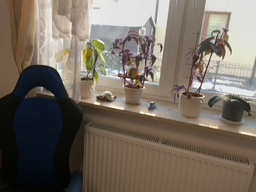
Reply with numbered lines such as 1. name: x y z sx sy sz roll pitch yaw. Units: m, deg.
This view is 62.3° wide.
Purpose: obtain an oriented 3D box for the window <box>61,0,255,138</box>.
1. window: 0.420 -0.590 1.150 1.570 1.420 0.440 11 18 20

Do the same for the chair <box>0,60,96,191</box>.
1. chair: -0.550 0.450 1.100 0.650 1.140 0.710 4 17 -3

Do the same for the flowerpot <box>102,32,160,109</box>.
1. flowerpot: 0.020 -0.190 1.480 0.300 0.460 0.240 11 18 20

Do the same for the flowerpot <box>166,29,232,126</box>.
1. flowerpot: 0.410 -0.120 1.260 0.230 0.490 0.260 15 19 18
